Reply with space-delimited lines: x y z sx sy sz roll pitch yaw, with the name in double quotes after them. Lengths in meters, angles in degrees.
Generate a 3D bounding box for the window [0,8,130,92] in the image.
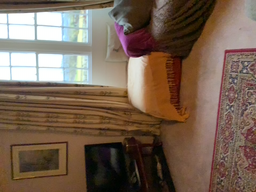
-1.070 -0.600 2.990 0.040 2.240 1.090 -163 74 -73 "window"
